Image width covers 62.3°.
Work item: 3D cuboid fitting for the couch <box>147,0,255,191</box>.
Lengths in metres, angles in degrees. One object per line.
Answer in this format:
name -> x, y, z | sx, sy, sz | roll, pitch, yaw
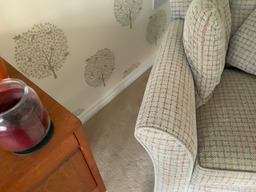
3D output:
couch -> 0.480, -0.110, 0.930 | 0.760, 0.820, 0.940 | 1, 48, 4
